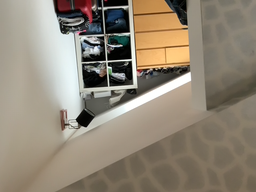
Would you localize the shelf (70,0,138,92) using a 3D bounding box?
[{"bbox_3d":[-0.330,-0.840,3.070,0.800,1.480,0.490,-5,-176,-2],"label":"shelf"}]
